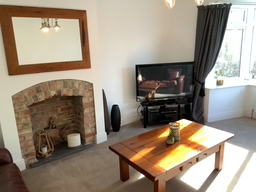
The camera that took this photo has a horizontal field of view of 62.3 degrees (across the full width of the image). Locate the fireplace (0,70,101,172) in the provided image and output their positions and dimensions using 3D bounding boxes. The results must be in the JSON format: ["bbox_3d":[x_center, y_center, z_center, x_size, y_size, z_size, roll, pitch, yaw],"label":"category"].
[{"bbox_3d":[-1.160,0.280,3.310,1.190,1.180,0.710,-13,18,-36],"label":"fireplace"}]

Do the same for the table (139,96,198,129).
[{"bbox_3d":[0.810,0.320,4.390,1.080,0.460,0.490,-4,14,-7],"label":"table"}]

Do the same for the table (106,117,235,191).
[{"bbox_3d":[0.540,0.740,2.640,1.360,0.470,0.810,-12,17,-33],"label":"table"}]

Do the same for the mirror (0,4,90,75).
[{"bbox_3d":[-1.110,-0.780,2.930,1.240,0.820,0.060,-14,18,-38],"label":"mirror"}]
